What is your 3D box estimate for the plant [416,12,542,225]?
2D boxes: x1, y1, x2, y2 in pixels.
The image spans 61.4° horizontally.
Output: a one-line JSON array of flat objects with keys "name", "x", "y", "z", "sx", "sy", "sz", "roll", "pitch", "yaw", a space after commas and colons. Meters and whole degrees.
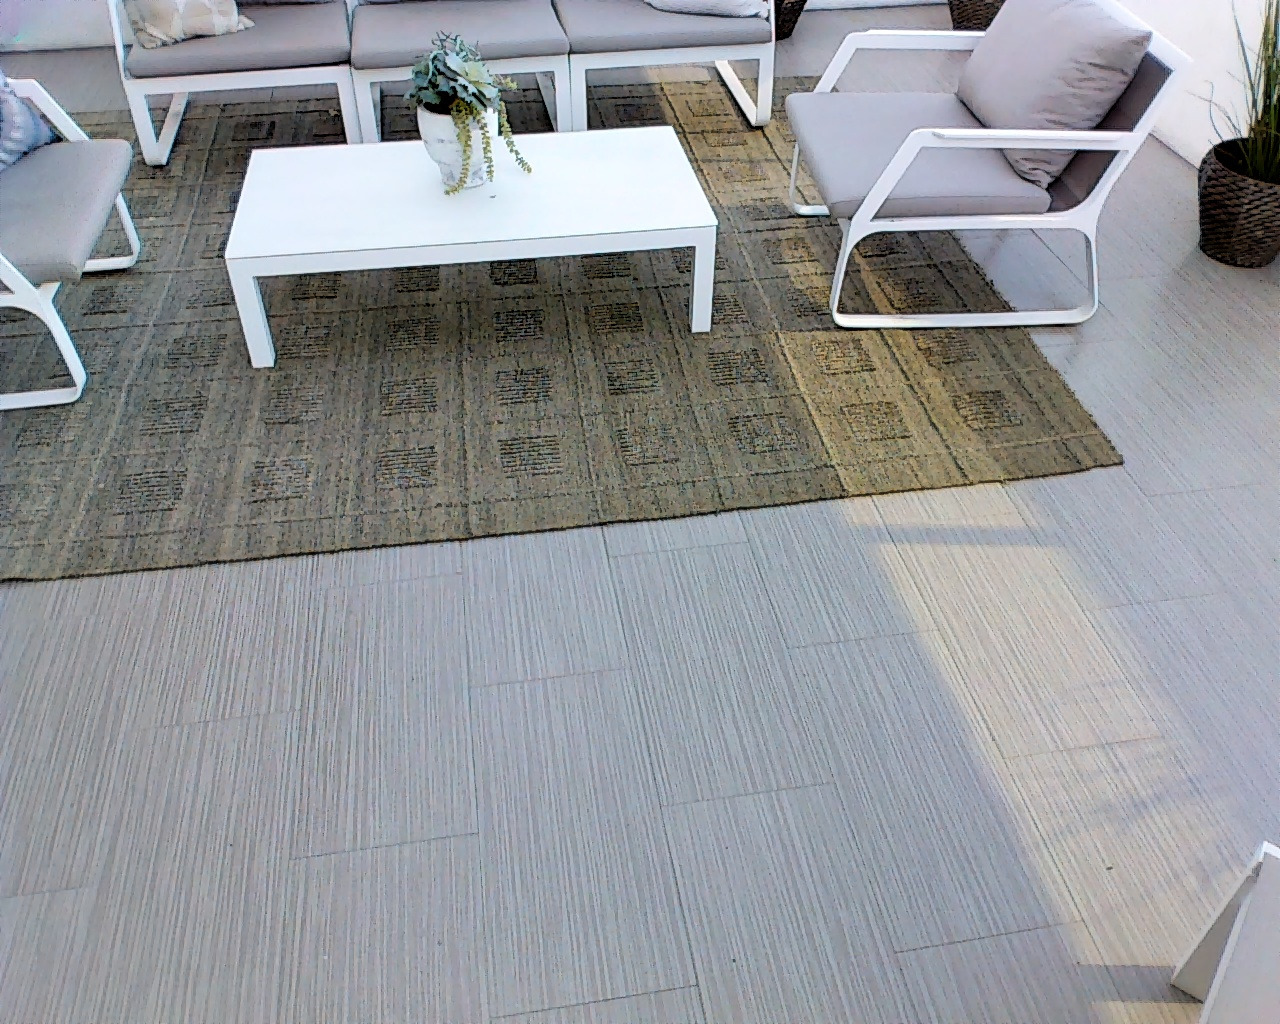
[{"name": "plant", "x": -0.410, "y": -1.010, "z": 2.760, "sx": 0.270, "sy": 0.400, "sz": 0.350, "roll": -5, "pitch": 42, "yaw": -7}]
